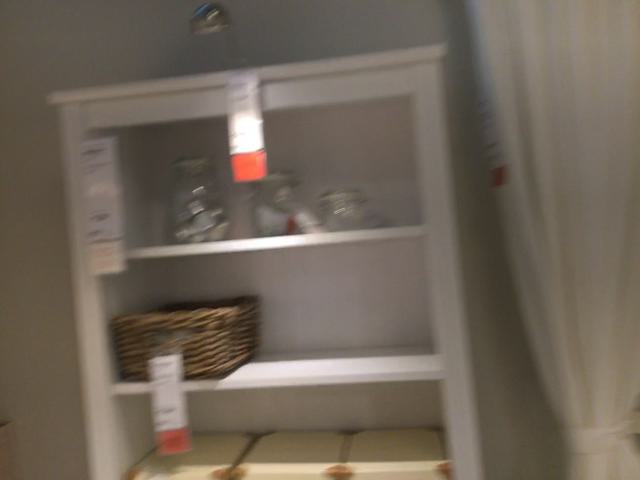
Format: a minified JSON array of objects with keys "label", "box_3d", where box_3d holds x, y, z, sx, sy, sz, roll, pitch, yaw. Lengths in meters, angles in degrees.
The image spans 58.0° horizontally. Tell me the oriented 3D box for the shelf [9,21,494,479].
[{"label":"shelf","box_3d":[-0.130,0.150,1.270,0.880,0.980,0.390,-6,-4,10]}]
